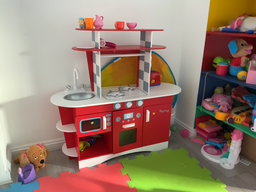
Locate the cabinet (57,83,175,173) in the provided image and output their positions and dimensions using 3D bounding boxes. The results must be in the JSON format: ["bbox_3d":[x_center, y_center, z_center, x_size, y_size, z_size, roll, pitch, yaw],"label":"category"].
[{"bbox_3d":[-0.100,0.210,1.710,0.840,0.500,0.340,-6,21,-21],"label":"cabinet"}]
